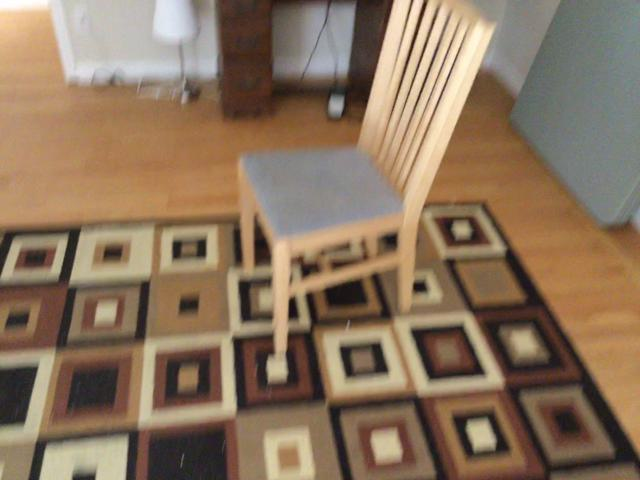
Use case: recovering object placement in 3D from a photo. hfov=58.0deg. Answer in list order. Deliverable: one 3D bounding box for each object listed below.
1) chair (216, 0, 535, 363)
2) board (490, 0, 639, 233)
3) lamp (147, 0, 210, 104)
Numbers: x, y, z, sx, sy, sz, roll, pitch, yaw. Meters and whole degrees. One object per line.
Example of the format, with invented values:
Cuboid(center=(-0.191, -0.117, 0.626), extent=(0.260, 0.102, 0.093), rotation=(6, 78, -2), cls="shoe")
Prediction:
Cuboid(center=(0.080, -0.200, 1.690), extent=(0.630, 0.940, 0.500), rotation=(-9, 41, -16), cls="chair")
Cuboid(center=(1.110, -0.640, 2.400), extent=(0.200, 0.750, 1.000), rotation=(-6, 40, -12), cls="board")
Cuboid(center=(-0.690, -0.980, 2.830), extent=(0.240, 0.520, 0.300), rotation=(-6, 40, -12), cls="lamp")
